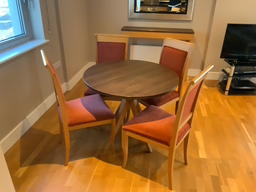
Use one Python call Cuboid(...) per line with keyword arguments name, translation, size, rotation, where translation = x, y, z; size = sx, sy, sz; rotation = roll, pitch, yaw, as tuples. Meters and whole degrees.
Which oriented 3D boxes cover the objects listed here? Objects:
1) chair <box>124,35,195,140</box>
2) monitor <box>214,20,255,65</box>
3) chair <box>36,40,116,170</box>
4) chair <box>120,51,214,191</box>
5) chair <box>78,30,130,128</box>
Cuboid(name="chair", translation=(0.320, -0.120, 2.430), size=(0.500, 1.000, 0.510), rotation=(-18, 33, -34))
Cuboid(name="monitor", translation=(1.830, -0.810, 3.260), size=(0.830, 0.650, 0.100), rotation=(2, 27, 0))
Cuboid(name="chair", translation=(-0.470, 0.060, 2.010), size=(0.560, 1.020, 0.530), rotation=(-10, 30, -21))
Cuboid(name="chair", translation=(0.290, 0.200, 1.810), size=(0.520, 0.980, 0.500), rotation=(21, 33, 33))
Cuboid(name="chair", translation=(-0.250, -0.210, 2.540), size=(0.460, 1.020, 0.500), rotation=(5, 27, 6))
